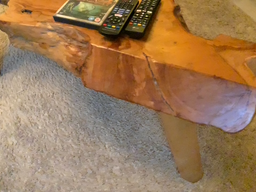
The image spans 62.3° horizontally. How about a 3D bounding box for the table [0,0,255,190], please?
[{"bbox_3d":[-0.170,-0.360,0.920,1.300,0.480,0.830,23,60,18],"label":"table"}]
